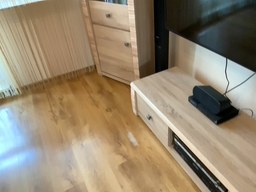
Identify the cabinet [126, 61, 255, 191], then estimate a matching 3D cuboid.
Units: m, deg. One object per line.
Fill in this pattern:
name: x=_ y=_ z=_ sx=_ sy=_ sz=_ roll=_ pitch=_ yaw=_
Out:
cabinet: x=0.550 y=0.310 z=1.330 sx=0.460 sy=0.340 sz=1.580 roll=-20 pitch=40 yaw=-18
